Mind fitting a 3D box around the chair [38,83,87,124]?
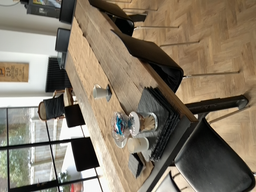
[{"bbox_3d":[-1.440,0.170,4.600,0.660,0.840,0.660,-39,57,53],"label":"chair"}]
